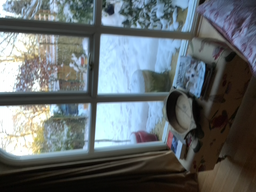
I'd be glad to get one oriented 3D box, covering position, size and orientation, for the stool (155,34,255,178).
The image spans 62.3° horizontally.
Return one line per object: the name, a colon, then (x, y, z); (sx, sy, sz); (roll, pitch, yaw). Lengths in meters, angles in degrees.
stool: (0.620, 0.080, 1.740); (0.520, 0.410, 1.010); (-123, 37, -56)
